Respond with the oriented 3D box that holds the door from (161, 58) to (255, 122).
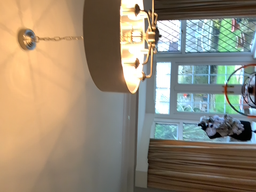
[{"bbox_3d":[1.770,-0.130,4.160,0.210,2.160,1.200,13,-101,-77],"label":"door"}]
